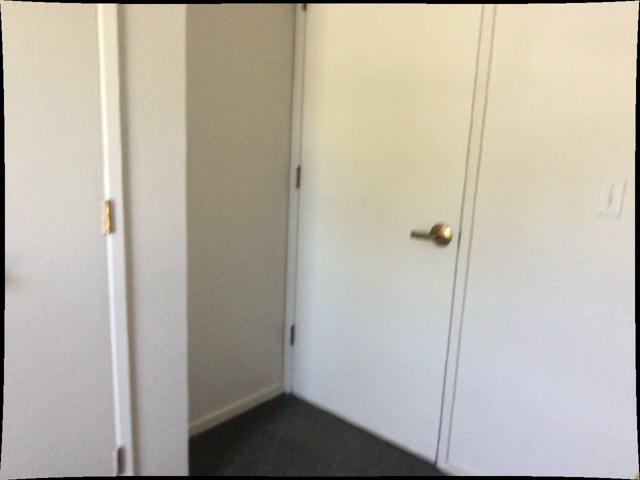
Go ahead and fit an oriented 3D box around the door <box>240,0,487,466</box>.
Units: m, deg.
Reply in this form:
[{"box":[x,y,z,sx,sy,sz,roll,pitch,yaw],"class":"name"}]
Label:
[{"box":[0.090,-0.110,2.380,0.869,1.913,0.120,19,20,35],"class":"door"}]
